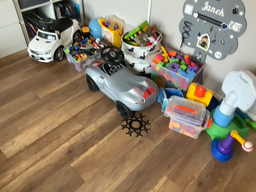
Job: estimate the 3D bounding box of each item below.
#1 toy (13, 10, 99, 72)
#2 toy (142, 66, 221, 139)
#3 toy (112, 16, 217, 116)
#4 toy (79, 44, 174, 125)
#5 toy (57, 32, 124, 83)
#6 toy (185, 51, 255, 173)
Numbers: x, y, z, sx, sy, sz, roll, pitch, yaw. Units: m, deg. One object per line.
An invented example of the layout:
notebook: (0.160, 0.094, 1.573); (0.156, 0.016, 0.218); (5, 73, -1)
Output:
toy: (-0.730, -0.610, 2.230); (0.480, 0.250, 0.670); (35, 53, 27)
toy: (0.400, 0.030, 1.650); (0.390, 0.230, 0.400); (-32, 55, -30)
toy: (0.260, -0.290, 1.870); (0.790, 0.460, 0.370); (36, 53, 28)
toy: (-0.030, -0.130, 1.770); (0.660, 0.210, 0.420); (36, 53, 28)
toy: (-0.370, -0.410, 2.130); (0.480, 0.160, 0.440); (35, 53, 27)
toy: (0.770, 0.110, 1.490); (0.400, 0.580, 0.490); (35, 53, 27)
